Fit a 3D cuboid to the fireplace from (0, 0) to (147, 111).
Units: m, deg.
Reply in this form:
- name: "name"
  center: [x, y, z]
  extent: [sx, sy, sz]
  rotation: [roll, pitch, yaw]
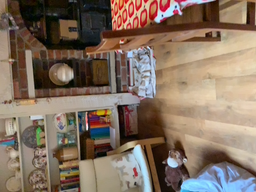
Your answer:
- name: "fireplace"
  center: [-0.790, -0.950, 2.910]
  extent: [0.720, 1.840, 2.110]
  rotation: [180, 86, -69]

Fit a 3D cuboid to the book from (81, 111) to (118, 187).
- name: "book"
  center: [-0.430, 0.770, 3.200]
  extent: [0.200, 0.440, 1.040]
  rotation: [176, 89, -69]
